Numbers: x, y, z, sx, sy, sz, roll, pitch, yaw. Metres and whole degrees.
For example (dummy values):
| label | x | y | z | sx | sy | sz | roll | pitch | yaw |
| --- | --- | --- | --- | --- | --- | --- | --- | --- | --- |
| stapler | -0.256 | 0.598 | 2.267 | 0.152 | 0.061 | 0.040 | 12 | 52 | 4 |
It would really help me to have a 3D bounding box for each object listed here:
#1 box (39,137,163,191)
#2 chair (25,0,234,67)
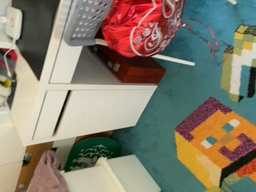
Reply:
| label | x | y | z | sx | sy | sz | roll | pitch | yaw |
| --- | --- | --- | --- | --- | --- | --- | --- | --- | --- |
| box | -0.200 | 0.630 | 1.350 | 0.390 | 0.560 | 0.530 | 48 | 123 | 32 |
| chair | 0.040 | -0.420 | 0.930 | 0.410 | 0.760 | 0.370 | 49 | 123 | 32 |
